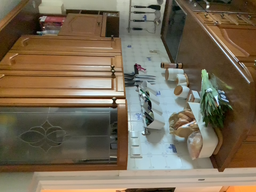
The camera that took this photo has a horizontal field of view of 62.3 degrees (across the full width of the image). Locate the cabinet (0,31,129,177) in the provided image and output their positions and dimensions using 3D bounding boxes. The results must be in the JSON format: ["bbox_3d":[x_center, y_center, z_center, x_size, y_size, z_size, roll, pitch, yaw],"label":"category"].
[{"bbox_3d":[-0.540,-0.060,1.600,1.260,1.010,0.330,-94,7,-51],"label":"cabinet"}]
